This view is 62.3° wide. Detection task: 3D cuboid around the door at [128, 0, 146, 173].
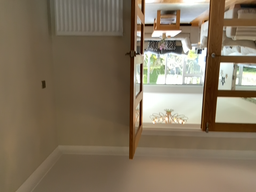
[{"bbox_3d":[0.080,-0.370,2.370,0.100,2.150,0.900,0,-169,-3],"label":"door"}]
